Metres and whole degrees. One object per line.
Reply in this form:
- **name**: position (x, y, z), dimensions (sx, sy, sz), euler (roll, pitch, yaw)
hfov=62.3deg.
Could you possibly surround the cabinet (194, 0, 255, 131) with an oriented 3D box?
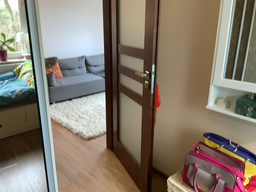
- **cabinet**: position (0.780, -0.320, 1.230), dimensions (0.150, 1.040, 0.670), euler (-15, 24, -40)

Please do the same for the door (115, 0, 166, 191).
- **door**: position (0.050, -0.210, 2.000), dimensions (0.180, 2.150, 0.900), euler (-4, 18, -14)
